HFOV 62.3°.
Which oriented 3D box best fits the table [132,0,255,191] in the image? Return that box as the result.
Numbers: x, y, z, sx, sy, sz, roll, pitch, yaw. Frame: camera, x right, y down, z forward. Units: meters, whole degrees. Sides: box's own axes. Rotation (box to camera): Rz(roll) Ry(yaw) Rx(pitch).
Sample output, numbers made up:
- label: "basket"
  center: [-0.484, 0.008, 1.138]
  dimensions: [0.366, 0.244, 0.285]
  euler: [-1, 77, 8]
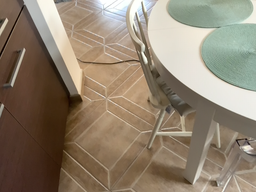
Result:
- label: "table"
  center: [0.680, -0.110, 1.170]
  dimensions: [1.150, 0.740, 1.170]
  euler: [-8, 49, 1]
